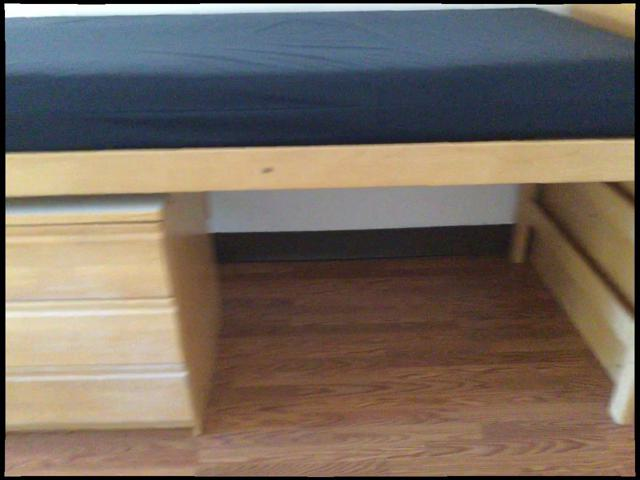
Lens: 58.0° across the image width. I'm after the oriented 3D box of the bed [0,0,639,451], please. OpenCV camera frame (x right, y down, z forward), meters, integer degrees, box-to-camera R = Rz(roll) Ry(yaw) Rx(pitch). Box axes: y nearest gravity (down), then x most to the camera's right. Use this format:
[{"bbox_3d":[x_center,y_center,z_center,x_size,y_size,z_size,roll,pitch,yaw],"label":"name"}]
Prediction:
[{"bbox_3d":[-0.110,-0.140,1.910,2.265,1.072,1.131,-1,32,0],"label":"bed"}]
